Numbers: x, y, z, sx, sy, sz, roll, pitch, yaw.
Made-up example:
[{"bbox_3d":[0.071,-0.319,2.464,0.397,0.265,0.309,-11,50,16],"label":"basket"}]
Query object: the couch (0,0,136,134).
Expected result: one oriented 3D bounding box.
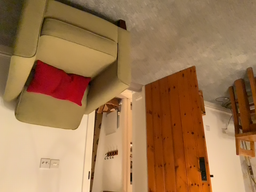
[{"bbox_3d":[-0.550,-0.190,1.800,0.810,0.800,1.000,12,156,-30],"label":"couch"}]
